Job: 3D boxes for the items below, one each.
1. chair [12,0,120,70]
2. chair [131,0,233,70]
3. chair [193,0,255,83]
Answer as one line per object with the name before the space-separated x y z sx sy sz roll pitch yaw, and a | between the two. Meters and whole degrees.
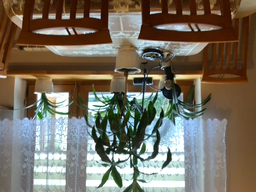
chair | -0.260 -0.670 1.160 0.390 0.960 0.530 0 175 3
chair | 0.220 -0.670 1.120 0.360 0.960 0.530 1 175 -3
chair | 0.800 -0.620 1.630 0.440 0.960 0.580 0 175 2
